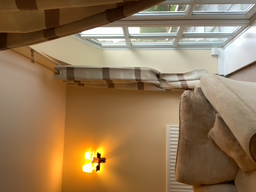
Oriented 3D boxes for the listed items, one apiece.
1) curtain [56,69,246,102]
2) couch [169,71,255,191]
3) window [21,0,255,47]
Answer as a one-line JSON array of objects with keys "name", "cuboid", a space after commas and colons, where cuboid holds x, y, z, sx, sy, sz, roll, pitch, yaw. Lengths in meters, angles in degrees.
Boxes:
[{"name": "curtain", "cuboid": [0.270, -0.130, 2.940, 0.760, 2.280, 0.250, 66, -154, -81]}, {"name": "couch", "cuboid": [0.820, 0.520, 1.560, 1.020, 0.830, 1.170, -78, -11, -68]}, {"name": "window", "cuboid": [0.230, -0.830, 1.930, 2.340, 2.240, 0.120, 29, -118, -85]}]
